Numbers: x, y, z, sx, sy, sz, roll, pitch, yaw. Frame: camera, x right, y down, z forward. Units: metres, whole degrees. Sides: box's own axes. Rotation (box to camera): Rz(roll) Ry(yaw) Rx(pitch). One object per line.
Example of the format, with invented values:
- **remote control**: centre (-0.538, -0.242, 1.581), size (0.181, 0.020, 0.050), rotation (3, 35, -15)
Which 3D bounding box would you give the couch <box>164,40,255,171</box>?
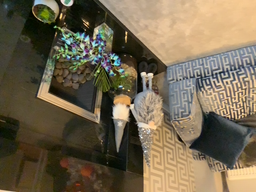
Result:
- **couch**: centre (1.130, 0.150, 1.860), size (1.360, 0.730, 1.080), rotation (-10, 148, 20)
